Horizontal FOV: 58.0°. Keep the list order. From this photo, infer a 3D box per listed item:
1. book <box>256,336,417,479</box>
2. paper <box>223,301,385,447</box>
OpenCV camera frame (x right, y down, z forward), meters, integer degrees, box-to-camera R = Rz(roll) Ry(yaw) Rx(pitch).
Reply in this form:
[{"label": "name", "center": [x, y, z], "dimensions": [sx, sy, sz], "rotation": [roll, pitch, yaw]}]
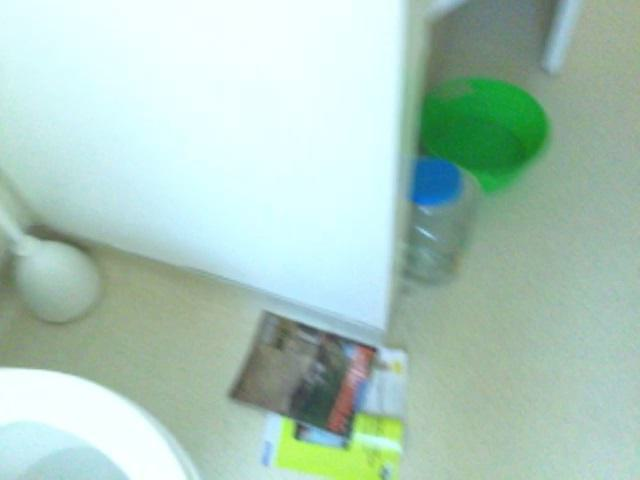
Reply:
[{"label": "book", "center": [0.040, 0.330, 1.150], "dimensions": [0.290, 0.030, 0.260], "rotation": [3, 60, 10]}, {"label": "paper", "center": [-0.030, 0.270, 1.200], "dimensions": [0.270, 0.040, 0.210], "rotation": [19, 64, 18]}]
